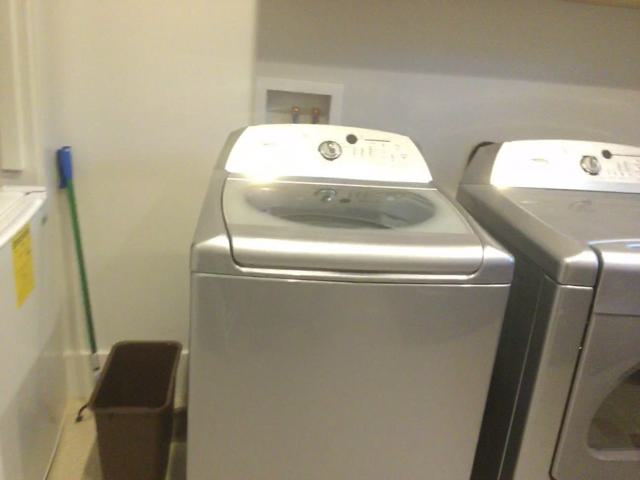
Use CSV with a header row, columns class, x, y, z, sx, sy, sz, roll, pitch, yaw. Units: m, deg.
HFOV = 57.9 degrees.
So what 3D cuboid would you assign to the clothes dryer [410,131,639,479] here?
class,x,y,z,sx,sy,sz,roll,pitch,yaw
clothes dryer,0.790,0.300,1.660,0.750,1.070,0.740,2,19,-9
